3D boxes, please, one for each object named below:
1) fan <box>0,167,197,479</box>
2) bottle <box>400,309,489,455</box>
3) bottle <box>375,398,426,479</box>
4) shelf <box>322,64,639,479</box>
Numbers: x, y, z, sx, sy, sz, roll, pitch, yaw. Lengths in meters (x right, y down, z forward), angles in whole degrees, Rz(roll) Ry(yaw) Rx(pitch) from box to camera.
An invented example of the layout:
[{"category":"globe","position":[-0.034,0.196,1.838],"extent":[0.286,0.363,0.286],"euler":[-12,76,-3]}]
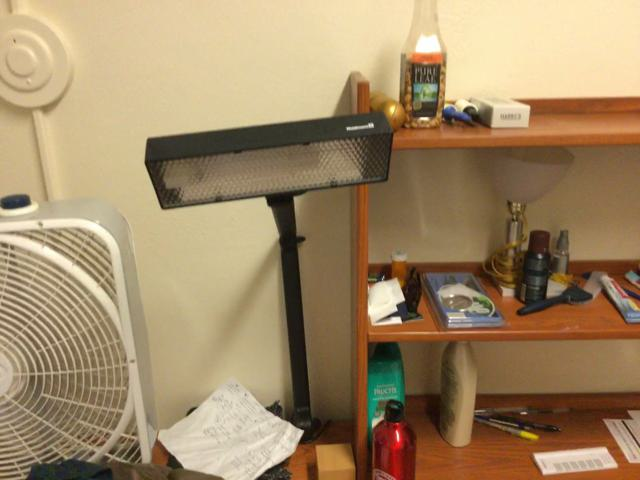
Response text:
[{"category":"fan","position":[-0.560,0.180,1.050],"extent":[0.560,0.560,0.290],"euler":[-1,20,1]},{"category":"bottle","position":[0.240,0.280,1.150],"extent":[0.140,0.250,0.130],"euler":[-1,20,1]},{"category":"bottle","position":[0.130,0.380,0.960],"extent":[0.070,0.220,0.080],"euler":[-1,20,1]},{"category":"shelf","position":[0.500,0.110,0.940],"extent":[0.970,0.730,0.470],"euler":[-1,20,1]}]
